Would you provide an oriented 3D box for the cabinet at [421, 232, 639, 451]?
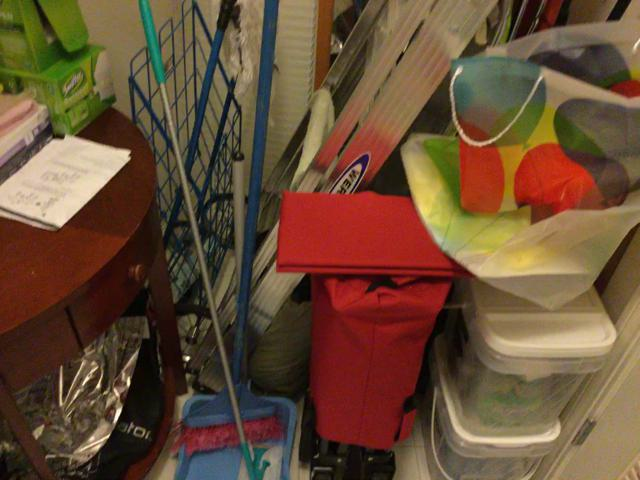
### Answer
[{"bbox_3d":[0.400,0.210,1.180,0.280,0.350,0.280,1,42,-4],"label":"cabinet"}]

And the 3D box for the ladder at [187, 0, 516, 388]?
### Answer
[{"bbox_3d":[0.100,-0.380,1.200,0.120,1.700,0.540,20,38,-20],"label":"ladder"}]

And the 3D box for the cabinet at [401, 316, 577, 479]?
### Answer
[{"bbox_3d":[0.370,0.410,1.380,0.260,0.320,0.320,1,42,-4],"label":"cabinet"}]
